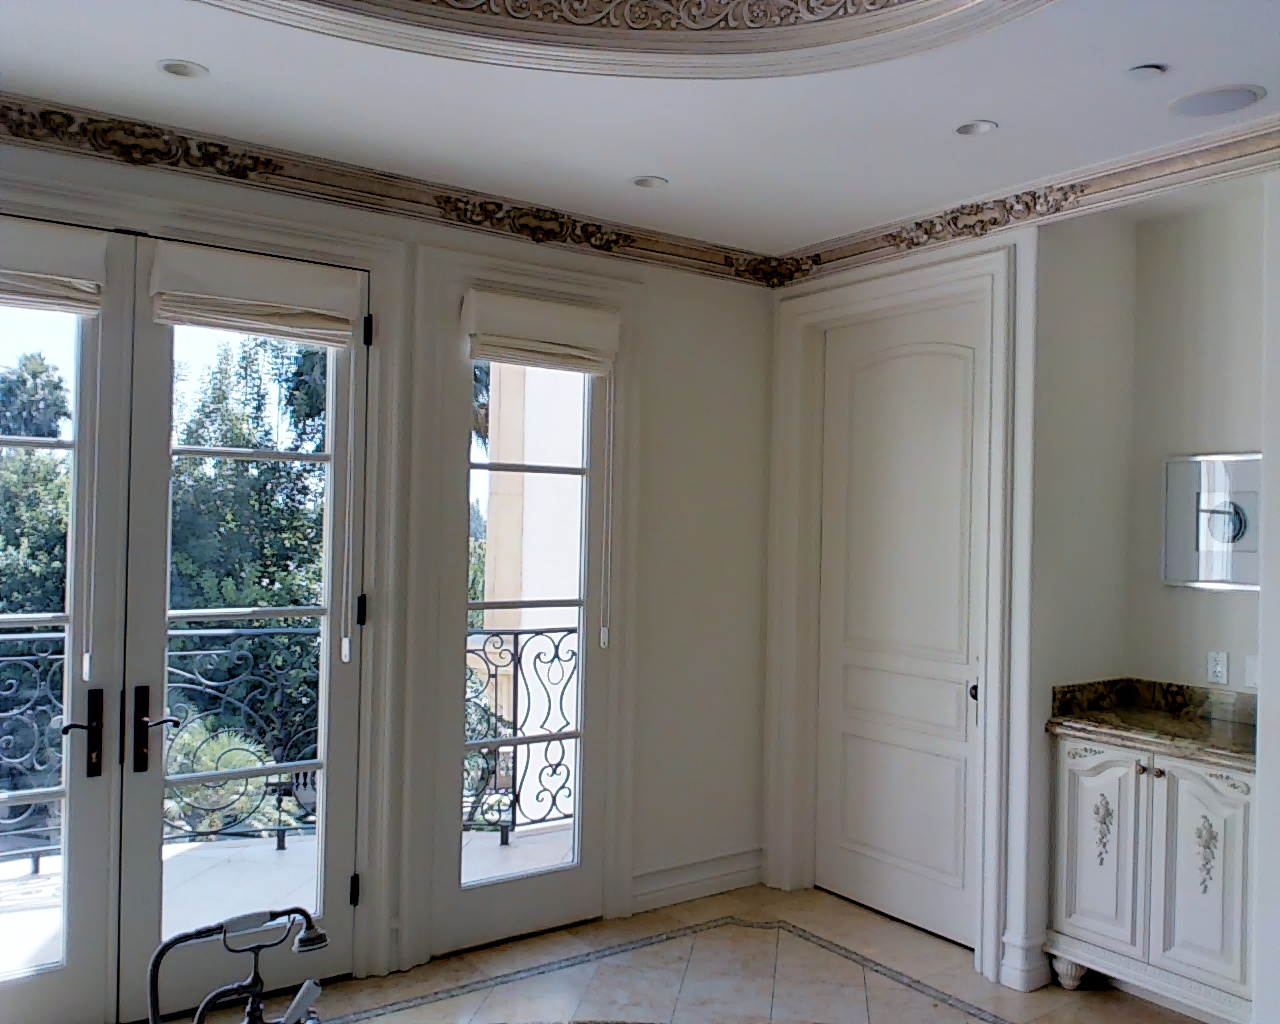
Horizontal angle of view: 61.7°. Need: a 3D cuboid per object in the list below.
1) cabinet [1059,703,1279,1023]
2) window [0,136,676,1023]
[{"bbox_3d":[1.840,1.160,3.520,0.490,0.920,0.700,1,-1,-36],"label":"cabinet"},{"bbox_3d":[-1.510,0.270,3.210,3.859,2.571,0.200,1,-1,-36],"label":"window"}]
